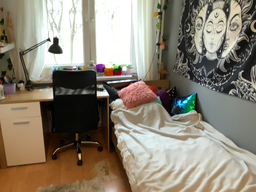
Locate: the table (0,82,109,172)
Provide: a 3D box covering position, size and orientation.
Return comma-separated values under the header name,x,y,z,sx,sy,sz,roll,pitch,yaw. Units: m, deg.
name,x,y,z,sx,sy,sz,roll,pitch,yaw
table,-0.910,0.300,2.610,1.230,0.750,0.730,-4,18,-16
